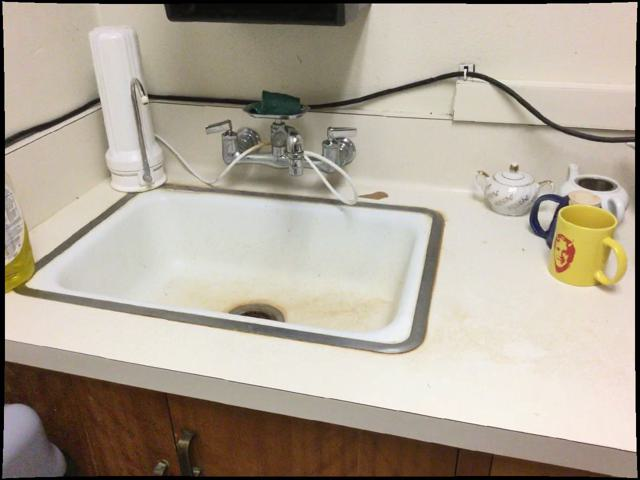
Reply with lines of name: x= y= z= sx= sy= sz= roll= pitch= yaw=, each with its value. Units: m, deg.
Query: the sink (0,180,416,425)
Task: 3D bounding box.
sink: x=-0.180 y=0.070 z=1.090 sx=0.658 sy=0.170 sz=0.430 roll=7 pitch=28 yaw=13

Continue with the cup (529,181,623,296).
cup: x=0.399 y=-0.010 z=0.920 sx=0.100 sy=0.100 sz=0.190 roll=7 pitch=28 yaw=13
